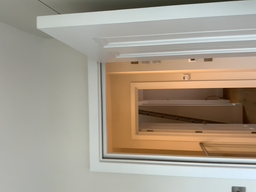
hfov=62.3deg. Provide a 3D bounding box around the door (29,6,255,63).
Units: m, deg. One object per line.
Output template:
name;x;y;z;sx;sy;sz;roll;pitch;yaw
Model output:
door;0.720;-0.260;0.990;0.810;2.040;0.030;-4;-87;-81
